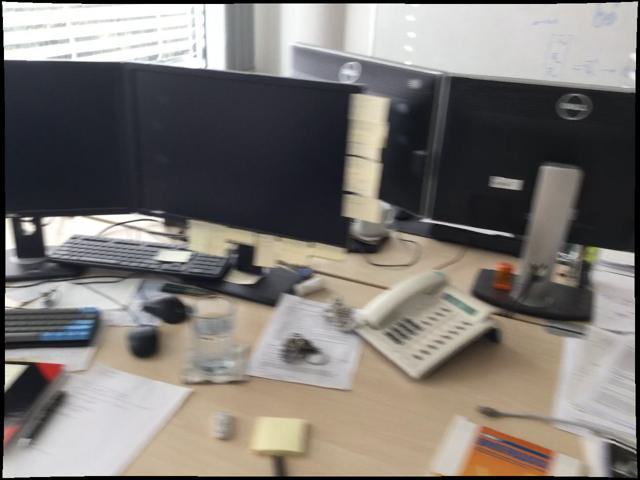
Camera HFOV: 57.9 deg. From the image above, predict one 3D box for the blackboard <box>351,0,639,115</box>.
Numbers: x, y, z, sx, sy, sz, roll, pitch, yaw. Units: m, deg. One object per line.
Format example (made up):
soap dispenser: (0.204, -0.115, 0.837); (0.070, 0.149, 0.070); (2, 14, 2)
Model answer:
blackboard: (1.099, -1.161, 2.470); (1.968, 1.141, 0.090); (13, 29, 20)

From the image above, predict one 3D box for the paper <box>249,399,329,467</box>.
paper: (-0.050, 0.320, 0.970); (0.100, 0.020, 0.100); (13, 29, 20)

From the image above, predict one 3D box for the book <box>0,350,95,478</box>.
book: (-0.549, 0.290, 1.000); (0.190, 0.020, 0.250); (9, 28, 13)

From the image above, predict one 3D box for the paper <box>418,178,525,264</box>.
paper: (0.460, -0.070, 1.710); (0.230, 0.060, 0.410); (13, 29, 20)

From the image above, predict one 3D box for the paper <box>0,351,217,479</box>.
paper: (-0.360, 0.320, 0.960); (0.230, 0.030, 0.330); (13, 29, 20)

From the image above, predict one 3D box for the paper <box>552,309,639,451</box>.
paper: (0.609, 0.270, 1.110); (0.280, 0.040, 0.340); (13, 29, 20)

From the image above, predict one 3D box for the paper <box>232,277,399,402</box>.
paper: (0.000, 0.190, 1.200); (0.250, 0.050, 0.280); (13, 29, 20)
